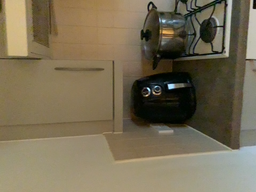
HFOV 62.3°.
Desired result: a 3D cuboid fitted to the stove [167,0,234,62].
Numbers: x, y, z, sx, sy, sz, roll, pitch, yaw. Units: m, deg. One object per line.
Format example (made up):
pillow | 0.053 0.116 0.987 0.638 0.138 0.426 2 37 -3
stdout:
stove | 0.340 -0.480 1.100 0.560 0.030 0.590 -150 59 -74
